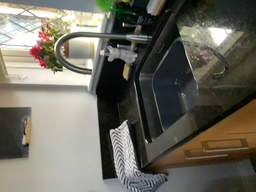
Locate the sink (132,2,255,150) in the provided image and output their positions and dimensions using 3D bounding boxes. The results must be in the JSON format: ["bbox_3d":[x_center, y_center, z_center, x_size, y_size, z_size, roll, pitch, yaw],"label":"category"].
[{"bbox_3d":[0.210,-0.050,0.870,0.430,0.210,0.410,119,146,-56],"label":"sink"}]

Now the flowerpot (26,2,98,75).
[{"bbox_3d":[-0.370,-0.300,1.200,0.320,0.330,0.220,122,143,-58],"label":"flowerpot"}]
